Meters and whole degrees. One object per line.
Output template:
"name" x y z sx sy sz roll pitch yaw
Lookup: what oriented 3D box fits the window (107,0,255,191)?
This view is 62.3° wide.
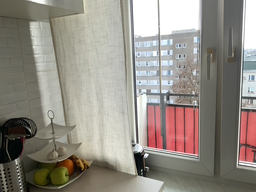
"window" 0.380 -0.110 0.920 0.960 1.240 0.190 4 13 31
